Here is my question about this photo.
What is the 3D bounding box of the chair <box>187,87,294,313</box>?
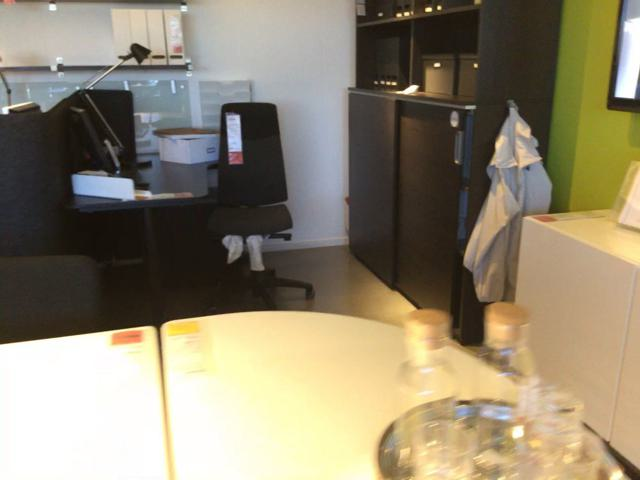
[{"bbox_3d":[-0.490,-0.240,3.300,0.500,1.160,0.580,0,18,-14],"label":"chair"}]

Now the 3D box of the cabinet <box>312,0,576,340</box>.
[{"bbox_3d":[0.530,-0.580,3.400,0.680,1.720,1.630,0,18,-14],"label":"cabinet"}]
